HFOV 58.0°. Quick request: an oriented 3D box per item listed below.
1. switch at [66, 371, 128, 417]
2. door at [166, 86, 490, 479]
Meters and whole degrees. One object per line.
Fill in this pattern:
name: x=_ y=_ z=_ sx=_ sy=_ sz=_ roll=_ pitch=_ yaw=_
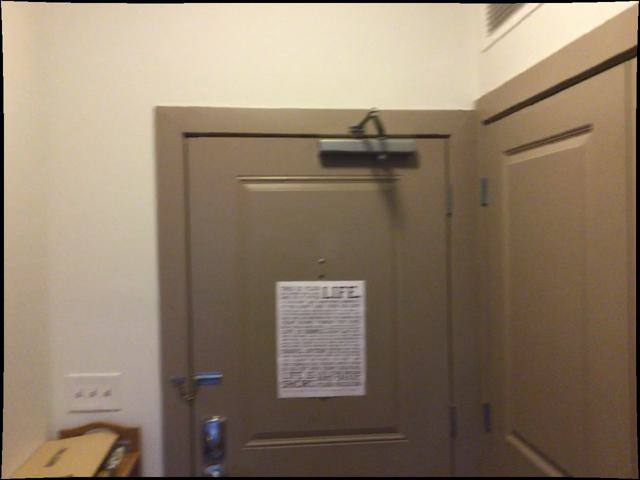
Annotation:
switch: x=-0.708 y=0.491 z=1.840 sx=0.170 sy=0.120 sz=0.060 roll=-1 pitch=3 yaw=-7
door: x=0.050 y=0.531 z=1.920 sx=1.018 sy=2.025 sz=0.130 roll=-1 pitch=3 yaw=-7
